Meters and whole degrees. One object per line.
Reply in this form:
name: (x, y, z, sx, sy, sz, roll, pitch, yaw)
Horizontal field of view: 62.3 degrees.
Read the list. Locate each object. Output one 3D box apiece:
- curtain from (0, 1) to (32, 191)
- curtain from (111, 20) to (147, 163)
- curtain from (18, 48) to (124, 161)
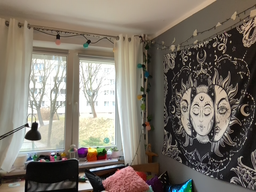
curtain: (-1.310, 0.010, 2.260, 0.450, 1.940, 0.260, 1, -2, -18)
curtain: (0.010, -0.060, 2.790, 0.390, 1.760, 0.270, 1, -2, -17)
curtain: (-0.780, 0.120, 3.080, 1.400, 1.440, 0.290, 1, -2, -19)
